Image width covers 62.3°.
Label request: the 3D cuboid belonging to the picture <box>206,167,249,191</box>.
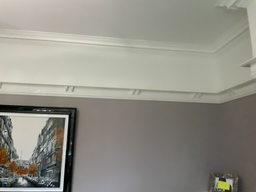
[{"bbox_3d":[1.080,0.930,2.320,0.290,0.240,0.310,2,-11,-8],"label":"picture"}]
